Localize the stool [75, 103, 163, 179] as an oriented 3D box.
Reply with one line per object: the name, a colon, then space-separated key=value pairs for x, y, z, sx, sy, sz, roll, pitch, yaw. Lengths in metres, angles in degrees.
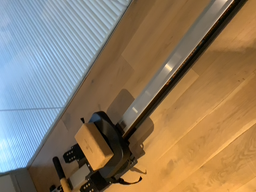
stool: x=-0.050 y=0.250 z=1.300 sx=0.250 sy=0.360 sz=0.320 roll=-49 pitch=63 yaw=27
